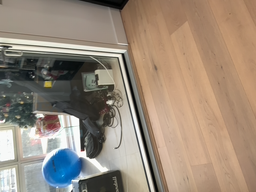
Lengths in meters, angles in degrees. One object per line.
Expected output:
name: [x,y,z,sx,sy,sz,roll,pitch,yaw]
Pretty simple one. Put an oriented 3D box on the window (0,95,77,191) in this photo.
window: [-1.920,1.080,3.090,0.110,2.200,2.260,-38,62,50]
